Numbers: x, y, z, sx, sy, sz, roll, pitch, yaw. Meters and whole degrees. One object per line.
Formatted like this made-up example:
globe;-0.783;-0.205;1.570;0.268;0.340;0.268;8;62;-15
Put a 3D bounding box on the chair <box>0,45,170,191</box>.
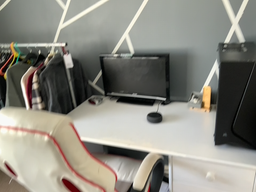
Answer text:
chair;-0.180;0.410;1.130;0.650;1.180;0.860;4;24;21
